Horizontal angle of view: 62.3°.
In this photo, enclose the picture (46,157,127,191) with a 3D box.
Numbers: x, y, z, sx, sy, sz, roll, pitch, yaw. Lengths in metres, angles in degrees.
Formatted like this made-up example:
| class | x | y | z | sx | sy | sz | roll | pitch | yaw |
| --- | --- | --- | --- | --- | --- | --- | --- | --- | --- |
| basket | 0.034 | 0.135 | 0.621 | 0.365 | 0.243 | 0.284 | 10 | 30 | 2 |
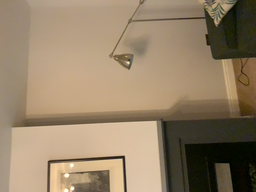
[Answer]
| class | x | y | z | sx | sy | sz | roll | pitch | yaw |
| --- | --- | --- | --- | --- | --- | --- | --- | --- | --- |
| picture | -0.350 | 0.810 | 1.820 | 0.050 | 0.680 | 0.520 | 102 | 165 | -79 |
